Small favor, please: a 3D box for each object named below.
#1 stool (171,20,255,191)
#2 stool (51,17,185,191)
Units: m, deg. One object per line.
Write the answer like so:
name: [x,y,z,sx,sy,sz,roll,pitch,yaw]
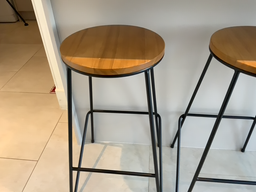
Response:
stool: [0.390,0.110,0.840,0.340,0.710,0.310,3,38,5]
stool: [-0.010,0.090,0.870,0.340,0.710,0.310,3,38,5]
